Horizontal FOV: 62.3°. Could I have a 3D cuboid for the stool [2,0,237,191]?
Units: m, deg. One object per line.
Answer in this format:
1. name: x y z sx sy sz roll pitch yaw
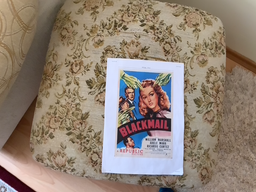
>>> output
1. stool: 0.000 0.010 0.730 0.530 0.420 0.530 5 81 1
